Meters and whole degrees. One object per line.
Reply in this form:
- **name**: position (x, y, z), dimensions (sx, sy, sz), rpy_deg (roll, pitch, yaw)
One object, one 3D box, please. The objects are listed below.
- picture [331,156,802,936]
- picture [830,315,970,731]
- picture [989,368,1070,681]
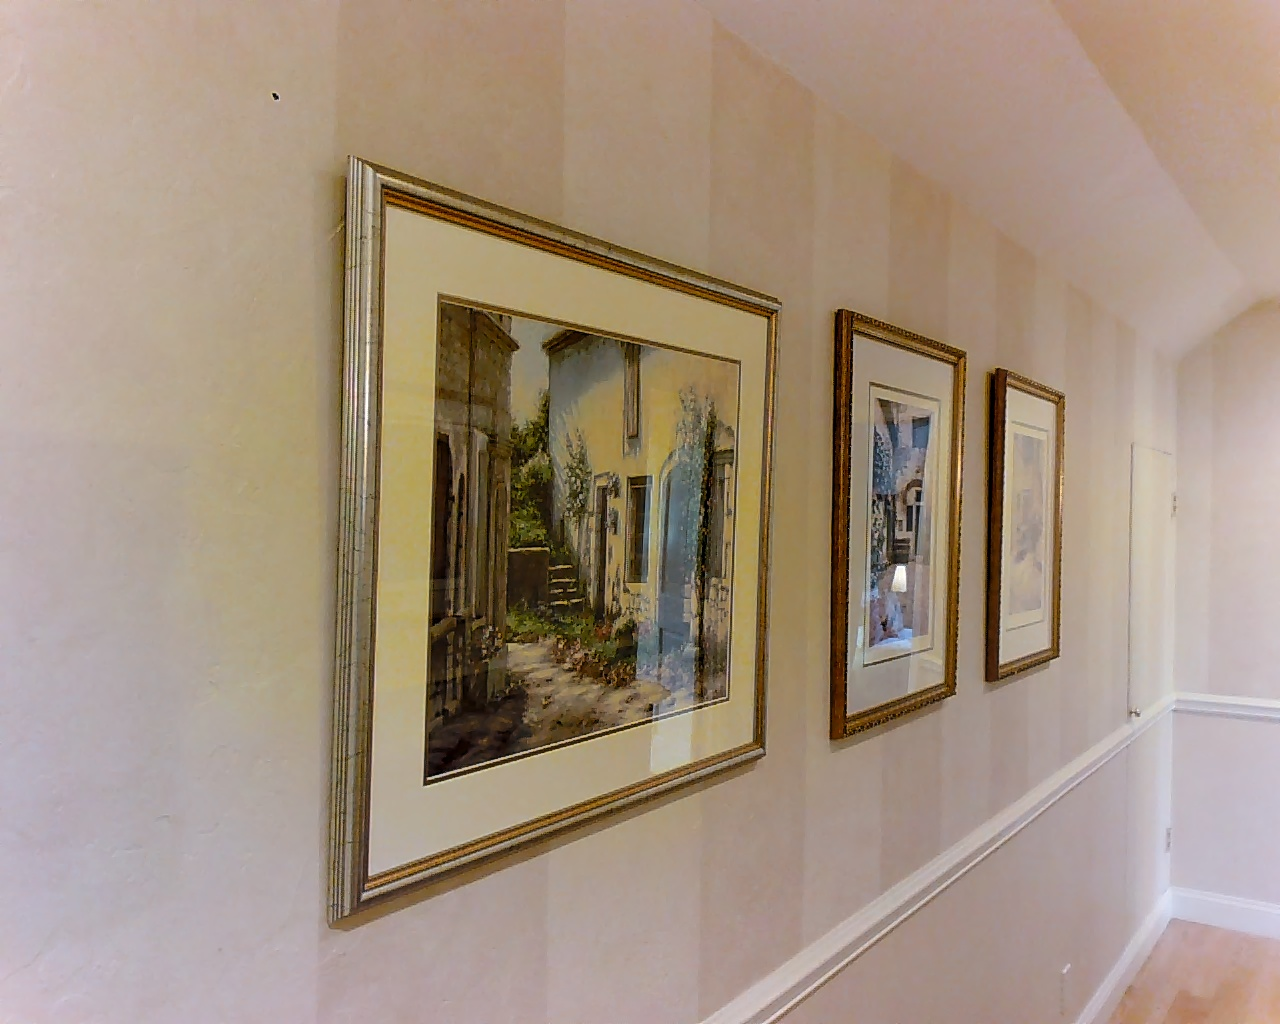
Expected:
- **picture**: position (-0.020, 0.040, 1.230), dimensions (0.060, 0.660, 0.740), rpy_deg (1, -2, 36)
- **picture**: position (0.490, 0.020, 1.970), dimensions (0.040, 0.670, 0.550), rpy_deg (1, 0, 36)
- **picture**: position (0.960, 0.030, 2.630), dimensions (0.040, 0.700, 0.530), rpy_deg (1, 0, 36)
